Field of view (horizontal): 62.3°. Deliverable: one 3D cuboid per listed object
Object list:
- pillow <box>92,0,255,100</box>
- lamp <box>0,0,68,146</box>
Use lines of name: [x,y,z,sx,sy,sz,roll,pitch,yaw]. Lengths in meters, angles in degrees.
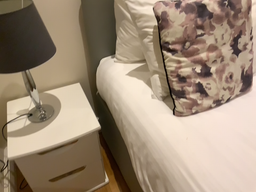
pillow: [0.260,-0.340,0.990,0.720,0.300,0.500,-16,41,-18]
lamp: [-0.470,-0.120,0.940,0.220,0.540,0.360,-18,41,-19]
